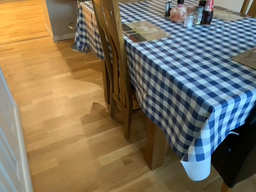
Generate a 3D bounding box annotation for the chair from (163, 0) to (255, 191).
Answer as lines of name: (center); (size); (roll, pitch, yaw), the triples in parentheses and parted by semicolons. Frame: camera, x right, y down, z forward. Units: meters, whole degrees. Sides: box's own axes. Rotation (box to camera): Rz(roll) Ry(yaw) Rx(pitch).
chair: (0.540, 0.110, 1.040); (0.410, 1.000, 0.520); (-17, 40, -21)
